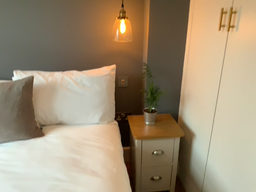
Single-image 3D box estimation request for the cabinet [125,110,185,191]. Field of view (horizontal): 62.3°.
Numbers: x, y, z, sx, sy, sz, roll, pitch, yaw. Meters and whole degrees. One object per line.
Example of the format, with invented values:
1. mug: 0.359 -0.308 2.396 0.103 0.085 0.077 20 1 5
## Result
1. cabinet: 0.180 0.460 1.670 0.360 0.580 0.350 -2 21 -8
